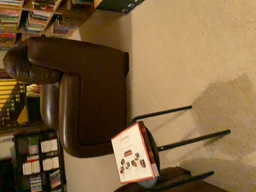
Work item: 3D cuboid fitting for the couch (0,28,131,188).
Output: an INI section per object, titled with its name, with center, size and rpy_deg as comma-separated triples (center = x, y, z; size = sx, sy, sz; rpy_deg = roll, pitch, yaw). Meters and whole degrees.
[couch]
center = -0.680, -0.010, 2.110
size = 1.140, 0.940, 1.080
rpy_deg = 16, 108, 57

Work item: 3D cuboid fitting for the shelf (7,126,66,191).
[shelf]
center = -1.780, 1.650, 4.230
size = 0.380, 0.940, 1.940
rpy_deg = -2, 93, 59

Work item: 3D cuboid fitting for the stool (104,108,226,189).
[stool]
center = 0.180, 0.270, 1.140
size = 0.370, 0.470, 0.280
rpy_deg = -32, 67, 56
